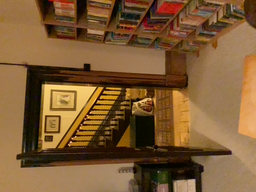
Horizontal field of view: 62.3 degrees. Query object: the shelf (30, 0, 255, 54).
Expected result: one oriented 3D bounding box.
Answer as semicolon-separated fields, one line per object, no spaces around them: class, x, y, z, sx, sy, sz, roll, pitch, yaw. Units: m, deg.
shelf;0.120;-0.890;2.270;1.180;2.030;0.360;153;119;-75
